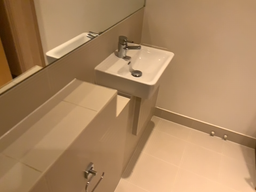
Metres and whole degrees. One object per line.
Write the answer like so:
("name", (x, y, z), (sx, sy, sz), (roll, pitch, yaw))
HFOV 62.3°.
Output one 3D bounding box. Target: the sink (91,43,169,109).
("sink", (0.030, -0.150, 1.330), (0.330, 0.140, 0.450), (17, 38, 15))
